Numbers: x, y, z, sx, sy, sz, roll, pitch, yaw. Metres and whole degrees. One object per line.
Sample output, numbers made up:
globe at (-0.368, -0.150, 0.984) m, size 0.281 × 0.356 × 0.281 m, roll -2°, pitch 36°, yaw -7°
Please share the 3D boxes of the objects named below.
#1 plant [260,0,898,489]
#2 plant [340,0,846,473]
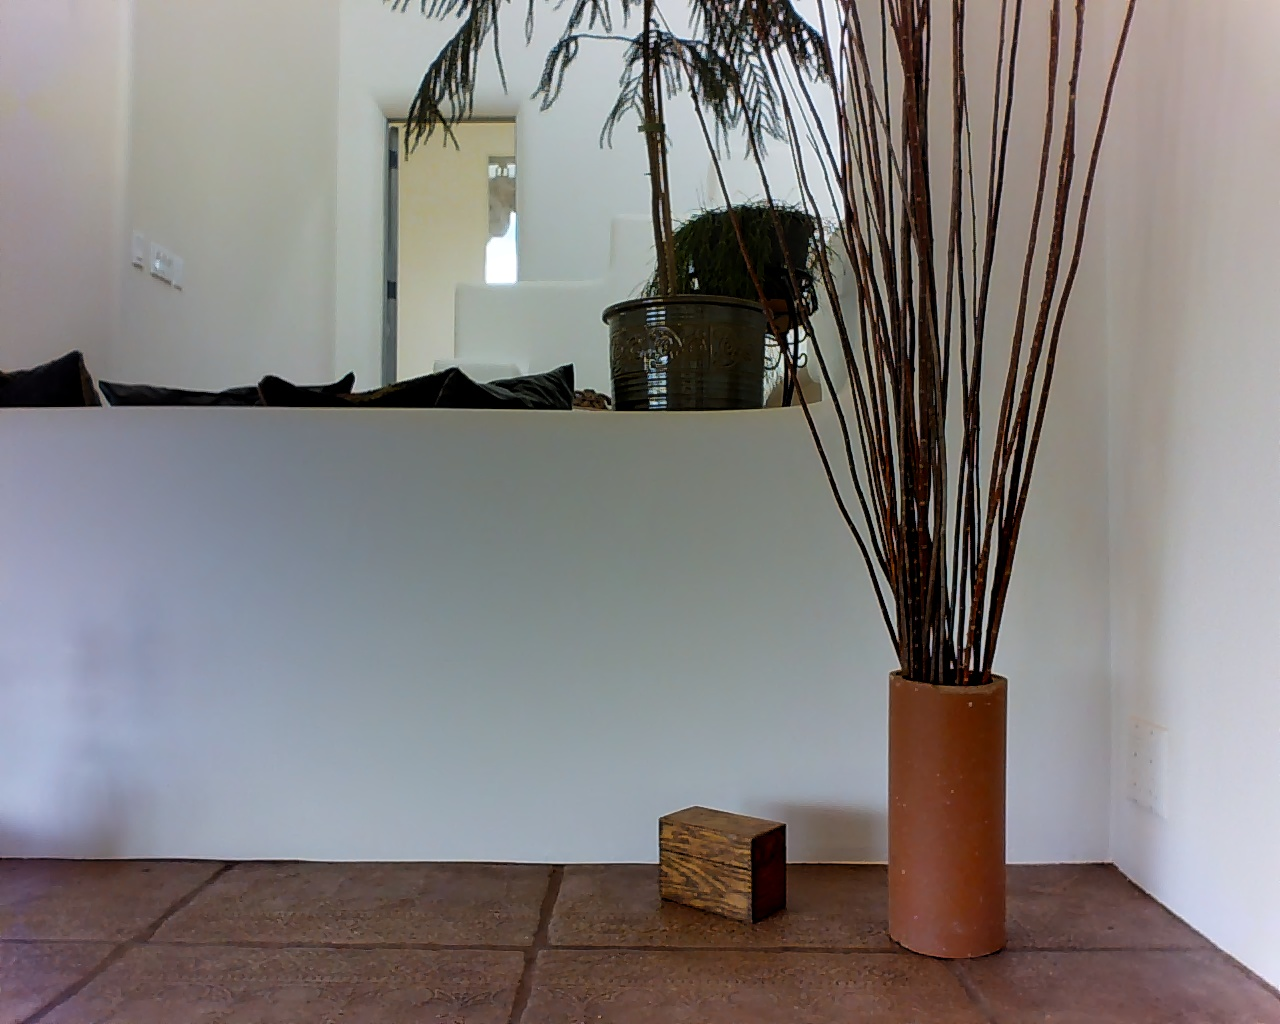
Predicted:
plant at (-0.070, -0.700, 2.030) m, size 0.920 × 1.260 × 0.940 m, roll 0°, pitch -2°, yaw 2°
plant at (-0.060, -0.730, 2.150) m, size 0.860 × 1.260 × 0.630 m, roll 0°, pitch -2°, yaw 4°
